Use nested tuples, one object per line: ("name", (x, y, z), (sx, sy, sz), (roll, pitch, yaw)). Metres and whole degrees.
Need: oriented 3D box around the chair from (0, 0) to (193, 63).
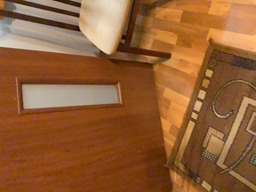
("chair", (-0.210, -0.520, 1.120), (0.580, 0.970, 0.470), (33, 116, 44))
